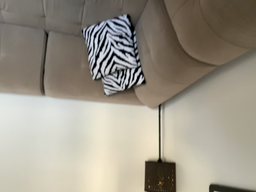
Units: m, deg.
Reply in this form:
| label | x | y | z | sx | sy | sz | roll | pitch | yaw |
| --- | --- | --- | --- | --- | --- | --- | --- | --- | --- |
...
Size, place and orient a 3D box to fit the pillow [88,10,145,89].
| label | x | y | z | sx | sy | sz | roll | pitch | yaw |
| --- | --- | --- | --- | --- | --- | --- | --- | --- | --- |
| pillow | -0.090 | -0.300 | 1.480 | 0.330 | 0.390 | 0.340 | 5 | 164 | -11 |
